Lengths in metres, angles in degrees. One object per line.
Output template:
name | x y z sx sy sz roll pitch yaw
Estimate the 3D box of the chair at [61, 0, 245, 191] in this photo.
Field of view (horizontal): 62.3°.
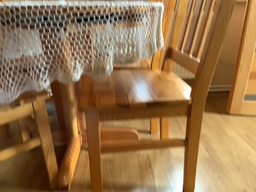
chair | 0.050 -0.080 0.910 0.520 0.900 0.460 -4 24 -8
